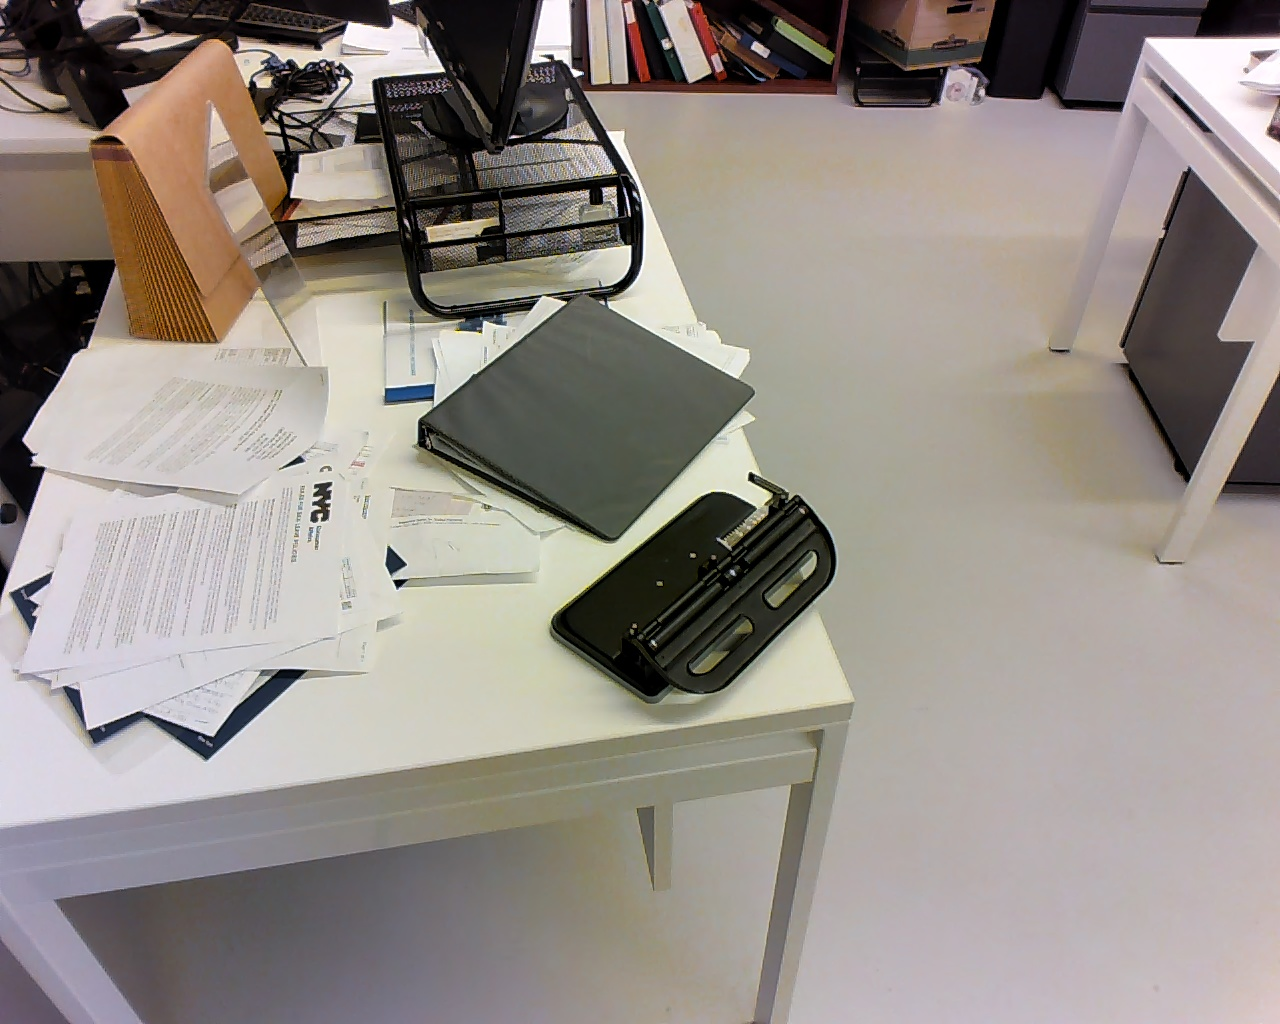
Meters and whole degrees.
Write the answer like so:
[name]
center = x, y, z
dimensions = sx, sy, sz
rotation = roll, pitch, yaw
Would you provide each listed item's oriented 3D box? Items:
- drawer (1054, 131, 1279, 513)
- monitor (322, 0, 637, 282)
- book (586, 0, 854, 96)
[drawer]
center = 1.430, -0.410, 2.250
dimensions = 0.790, 0.550, 0.590
rotation = -2, 42, -2
[monitor]
center = -0.200, -0.690, 1.370
dimensions = 0.320, 0.510, 0.630
rotation = -4, 43, -5
[book]
center = 0.260, -1.740, 3.850
dimensions = 0.900, 0.320, 0.420
rotation = -2, 42, -2
